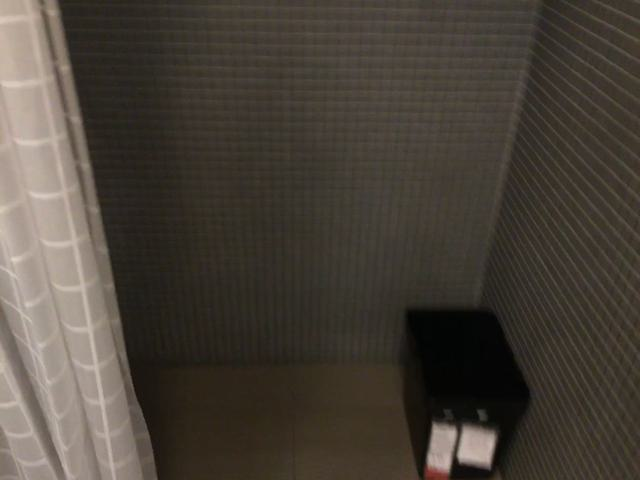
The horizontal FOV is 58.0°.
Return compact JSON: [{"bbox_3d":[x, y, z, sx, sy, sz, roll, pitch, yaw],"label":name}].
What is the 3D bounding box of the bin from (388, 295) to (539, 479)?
[{"bbox_3d":[0.340,0.390,1.490,0.240,0.320,0.380,-2,31,-4],"label":"bin"}]
